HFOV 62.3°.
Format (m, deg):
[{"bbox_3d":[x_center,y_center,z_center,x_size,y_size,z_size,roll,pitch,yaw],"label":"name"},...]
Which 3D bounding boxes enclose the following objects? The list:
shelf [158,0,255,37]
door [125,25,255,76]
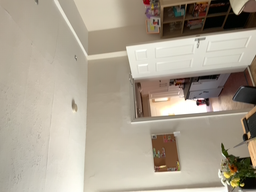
[{"bbox_3d":[1.240,-1.500,3.550,0.810,1.430,0.400,72,-166,-65],"label":"shelf"},{"bbox_3d":[1.000,-0.690,3.430,0.760,2.000,0.150,73,-168,-62],"label":"door"}]
